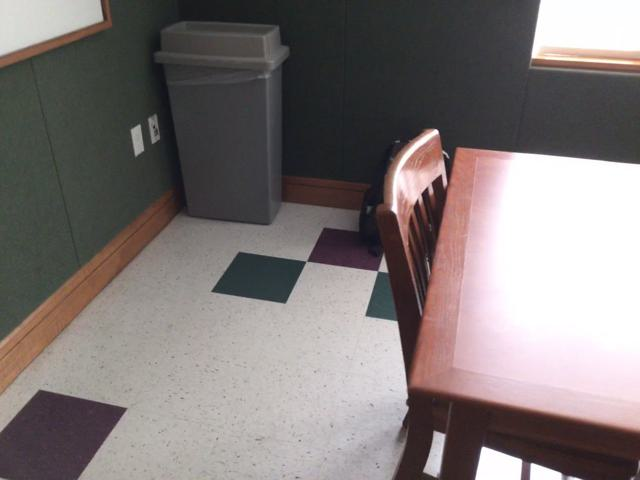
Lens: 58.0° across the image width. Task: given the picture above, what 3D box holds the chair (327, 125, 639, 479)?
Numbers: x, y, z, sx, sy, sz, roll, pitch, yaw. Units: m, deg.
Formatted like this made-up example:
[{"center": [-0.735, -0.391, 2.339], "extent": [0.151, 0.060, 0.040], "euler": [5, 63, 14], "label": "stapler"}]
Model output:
[{"center": [0.370, 0.300, 1.200], "extent": [0.560, 0.880, 0.600], "euler": [6, 31, 14], "label": "chair"}]
